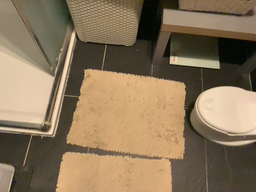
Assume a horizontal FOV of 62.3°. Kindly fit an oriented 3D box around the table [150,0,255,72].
[{"bbox_3d":[0.450,-0.430,1.210,0.600,0.350,0.420,4,67,-1],"label":"table"}]
